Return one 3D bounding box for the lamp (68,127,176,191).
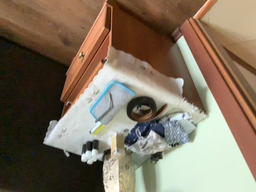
[{"bbox_3d":[-0.030,0.350,0.710,0.250,0.320,0.290,26,127,-26],"label":"lamp"}]

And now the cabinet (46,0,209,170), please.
[{"bbox_3d":[-0.030,-0.070,0.970,0.410,0.560,0.450,25,127,-25],"label":"cabinet"}]
